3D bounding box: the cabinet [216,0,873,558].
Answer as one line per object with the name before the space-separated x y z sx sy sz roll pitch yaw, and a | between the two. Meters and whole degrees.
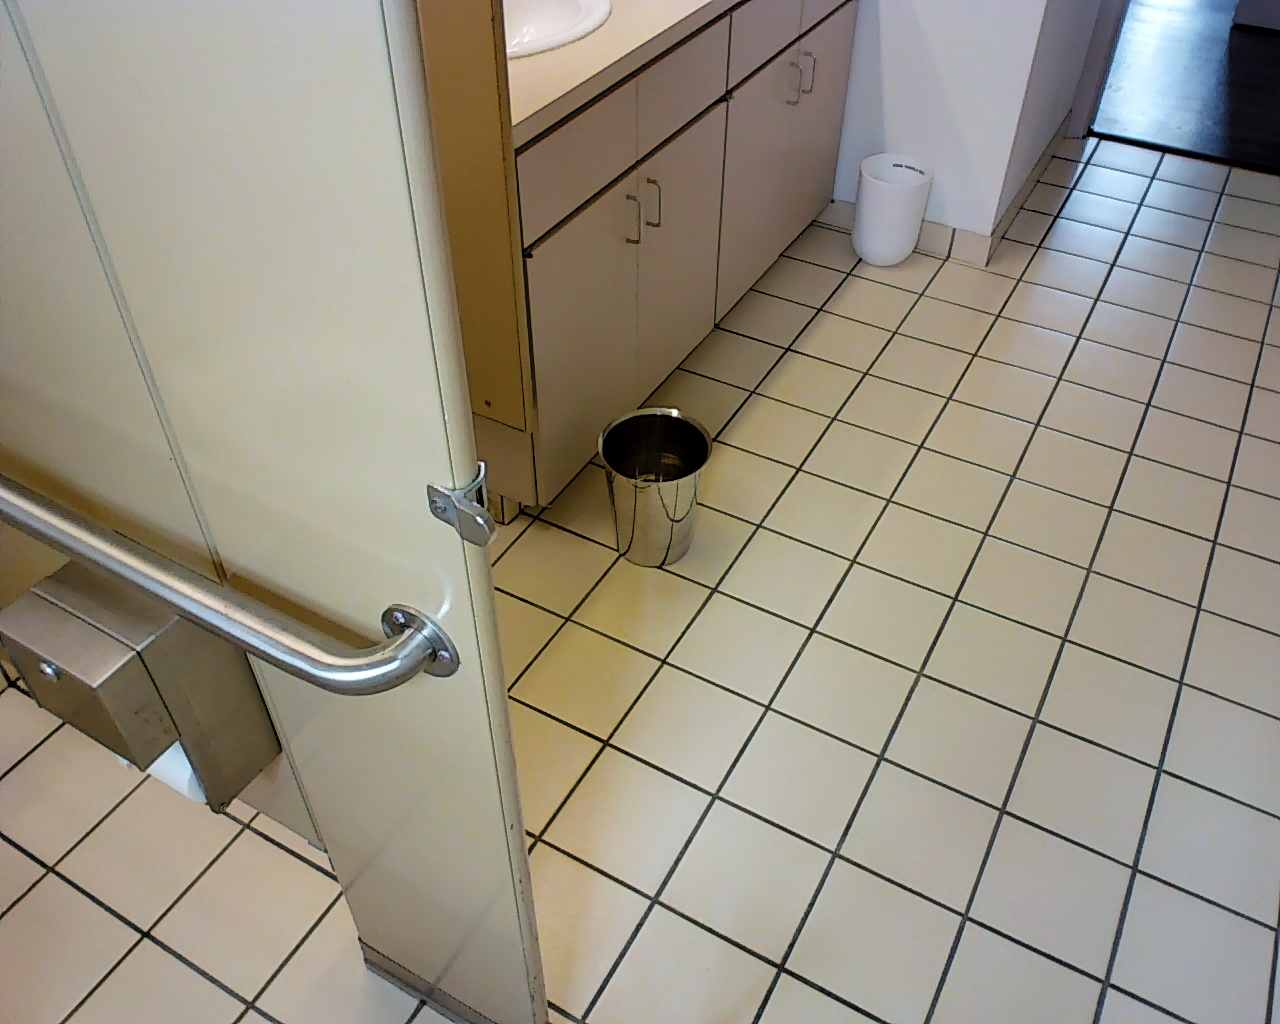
cabinet | -0.070 -0.790 2.520 0.640 0.880 1.540 22 47 21
